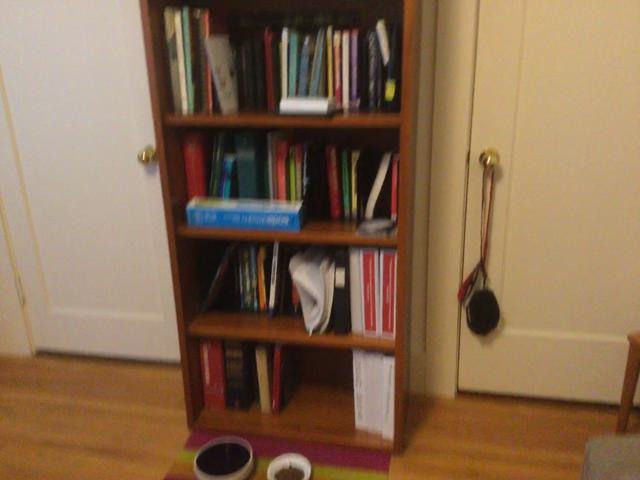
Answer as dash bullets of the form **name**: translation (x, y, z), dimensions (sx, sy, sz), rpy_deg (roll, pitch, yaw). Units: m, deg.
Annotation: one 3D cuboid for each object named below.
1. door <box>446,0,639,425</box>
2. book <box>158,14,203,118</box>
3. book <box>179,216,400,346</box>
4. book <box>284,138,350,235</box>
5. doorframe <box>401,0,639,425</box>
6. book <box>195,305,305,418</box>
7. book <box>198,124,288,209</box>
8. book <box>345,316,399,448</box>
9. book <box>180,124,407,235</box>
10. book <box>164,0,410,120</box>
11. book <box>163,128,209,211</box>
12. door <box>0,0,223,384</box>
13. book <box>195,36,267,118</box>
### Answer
- **door**: translation (0.830, -0.330, 1.760), dimensions (0.770, 1.980, 0.070), rpy_deg (2, 18, 10)
- **book**: translation (-0.400, -0.500, 1.670), dimensions (0.080, 0.280, 0.070), rpy_deg (2, 18, 10)
- **book**: translation (-0.080, 0.120, 1.940), dimensions (0.670, 0.310, 0.310), rpy_deg (2, 18, 10)
- **book**: translation (0.000, -0.180, 1.820), dimensions (0.150, 0.240, 0.310), rpy_deg (2, 18, 10)
- **doorframe**: translation (0.810, -0.420, 1.720), dimensions (1.070, 2.140, 0.100), rpy_deg (2, 18, 10)
- **book**: translation (-0.240, 0.430, 2.090), dimensions (0.320, 0.290, 0.250), rpy_deg (2, 18, 10)
- **book**: translation (-0.240, -0.250, 1.890), dimensions (0.200, 0.220, 0.300), rpy_deg (2, 18, 10)
- **book**: translation (0.180, 0.470, 1.970), dimensions (0.150, 0.310, 0.310), rpy_deg (2, 18, 10)
- **book**: translation (-0.070, -0.210, 1.880), dimensions (0.680, 0.300, 0.260), rpy_deg (2, 18, 10)
- **book**: translation (-0.080, -0.570, 1.720), dimensions (0.670, 0.390, 0.270), rpy_deg (2, 18, 10)
- **book**: translation (-0.410, -0.220, 1.780), dimensions (0.070, 0.230, 0.140), rpy_deg (2, 18, 10)
- **door**: translation (-0.880, -0.400, 2.080), dimensions (0.940, 1.940, 0.110), rpy_deg (2, 18, 10)
- **book**: translation (-0.260, -0.500, 1.760), dimensions (0.110, 0.220, 0.310), rpy_deg (2, 18, 10)
